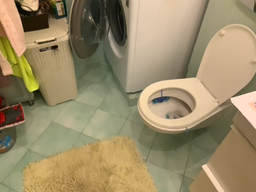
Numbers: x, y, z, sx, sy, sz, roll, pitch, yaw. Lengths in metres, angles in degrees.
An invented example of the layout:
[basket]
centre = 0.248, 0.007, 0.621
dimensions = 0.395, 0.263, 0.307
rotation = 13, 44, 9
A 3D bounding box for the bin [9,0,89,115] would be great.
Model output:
[bin]
centre = -0.560, -0.280, 1.580
dimensions = 0.360, 0.630, 0.480
rotation = -16, 51, -17
